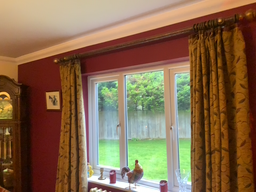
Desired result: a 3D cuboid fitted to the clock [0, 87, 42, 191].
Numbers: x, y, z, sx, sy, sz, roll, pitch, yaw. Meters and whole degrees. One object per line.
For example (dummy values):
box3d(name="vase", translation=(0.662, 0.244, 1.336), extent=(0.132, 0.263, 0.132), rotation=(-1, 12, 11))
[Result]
box3d(name="clock", translation=(-1.760, 0.880, 3.160), extent=(0.760, 1.980, 0.510), rotation=(-1, -2, -1))
